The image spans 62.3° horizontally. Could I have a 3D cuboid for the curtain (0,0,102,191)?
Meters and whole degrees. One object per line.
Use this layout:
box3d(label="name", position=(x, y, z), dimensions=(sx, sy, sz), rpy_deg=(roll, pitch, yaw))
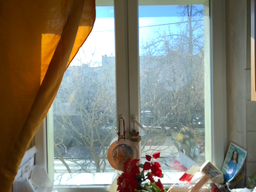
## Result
box3d(label="curtain", position=(-0.530, 0.020, 1.250), dimensions=(0.700, 1.850, 0.330), rpy_deg=(-1, 2, -1))
